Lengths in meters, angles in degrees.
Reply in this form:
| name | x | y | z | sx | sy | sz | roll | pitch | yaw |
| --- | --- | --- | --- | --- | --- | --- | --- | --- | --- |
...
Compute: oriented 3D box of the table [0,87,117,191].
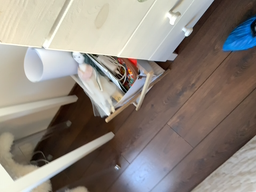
| name | x | y | z | sx | sy | sz | roll | pitch | yaw |
| --- | --- | --- | --- | --- | --- | --- | --- | --- | --- |
| table | -0.600 | 0.420 | 1.140 | 0.400 | 0.790 | 0.810 | 43 | 111 | 12 |
